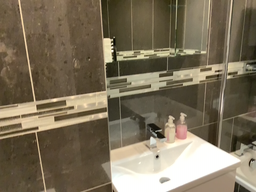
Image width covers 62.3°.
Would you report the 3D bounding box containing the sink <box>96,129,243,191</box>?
[{"bbox_3d":[0.200,0.380,1.110,0.630,0.160,0.390,-9,18,-24],"label":"sink"}]
